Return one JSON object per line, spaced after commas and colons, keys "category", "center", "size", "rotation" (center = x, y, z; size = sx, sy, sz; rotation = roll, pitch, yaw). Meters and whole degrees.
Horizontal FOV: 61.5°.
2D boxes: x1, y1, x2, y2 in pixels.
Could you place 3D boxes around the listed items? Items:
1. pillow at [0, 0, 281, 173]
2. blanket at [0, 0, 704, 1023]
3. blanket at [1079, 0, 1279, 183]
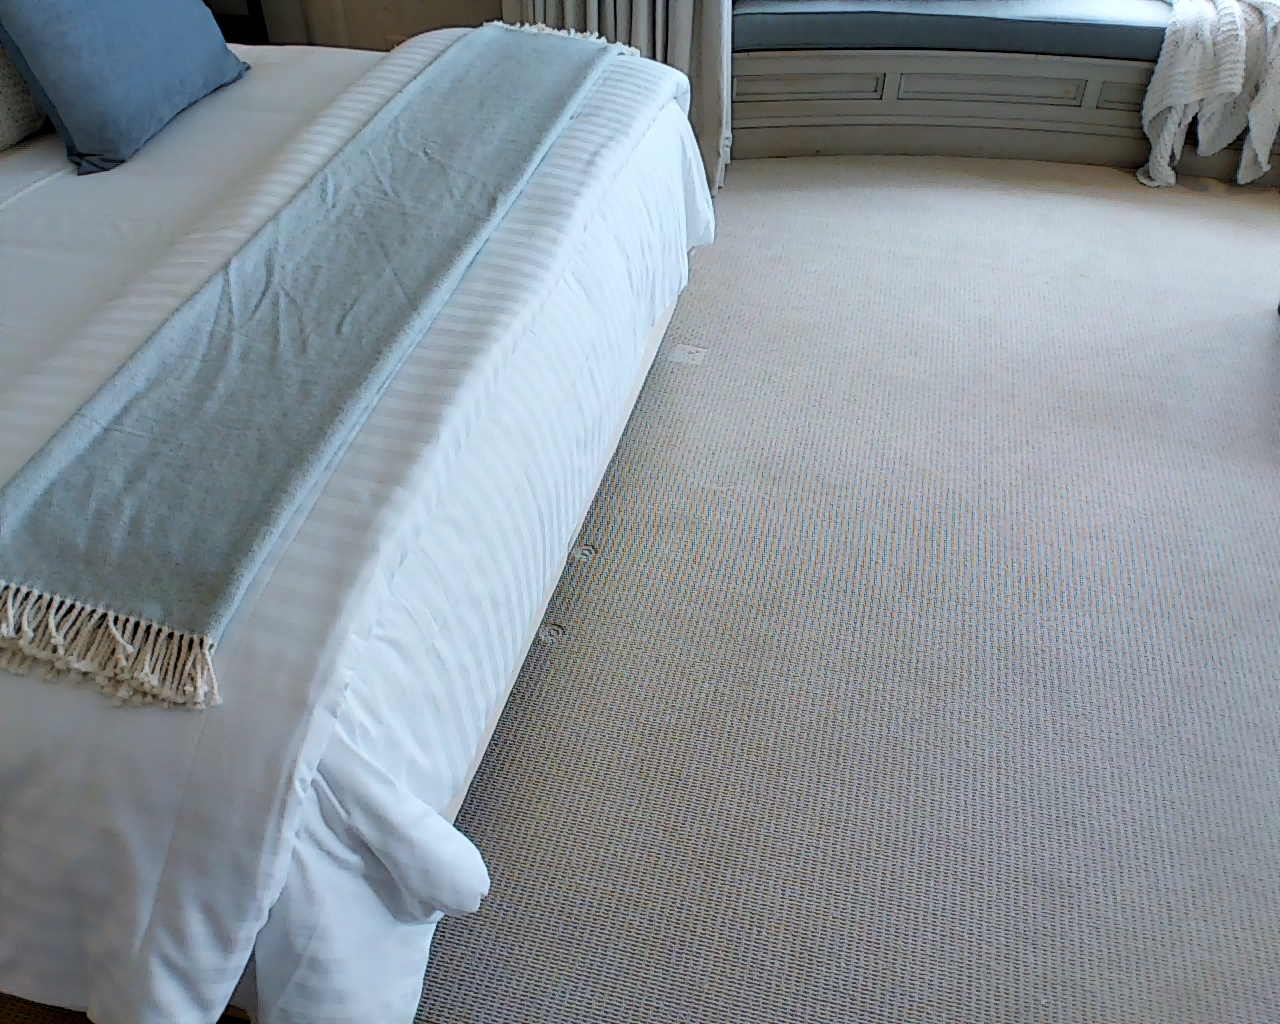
{"category": "pillow", "center": [-1.080, -1.060, 2.120], "size": [0.290, 0.530, 0.550], "rotation": [-4, 39, 20]}
{"category": "blanket", "center": [-0.400, -0.340, 1.880], "size": [0.590, 0.480, 2.370], "rotation": [9, 43, 9]}
{"category": "blanket", "center": [1.900, -1.460, 3.500], "size": [0.680, 0.580, 0.450], "rotation": [5, 42, 5]}
